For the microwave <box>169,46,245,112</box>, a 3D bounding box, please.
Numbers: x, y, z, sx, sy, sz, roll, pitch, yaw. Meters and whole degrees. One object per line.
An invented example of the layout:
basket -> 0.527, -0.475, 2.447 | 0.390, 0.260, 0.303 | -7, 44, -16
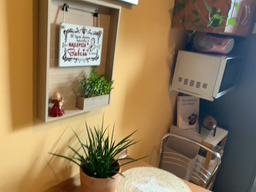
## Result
microwave -> 0.560, -0.150, 1.470 | 0.280, 0.340, 0.510 | 20, 22, 34
